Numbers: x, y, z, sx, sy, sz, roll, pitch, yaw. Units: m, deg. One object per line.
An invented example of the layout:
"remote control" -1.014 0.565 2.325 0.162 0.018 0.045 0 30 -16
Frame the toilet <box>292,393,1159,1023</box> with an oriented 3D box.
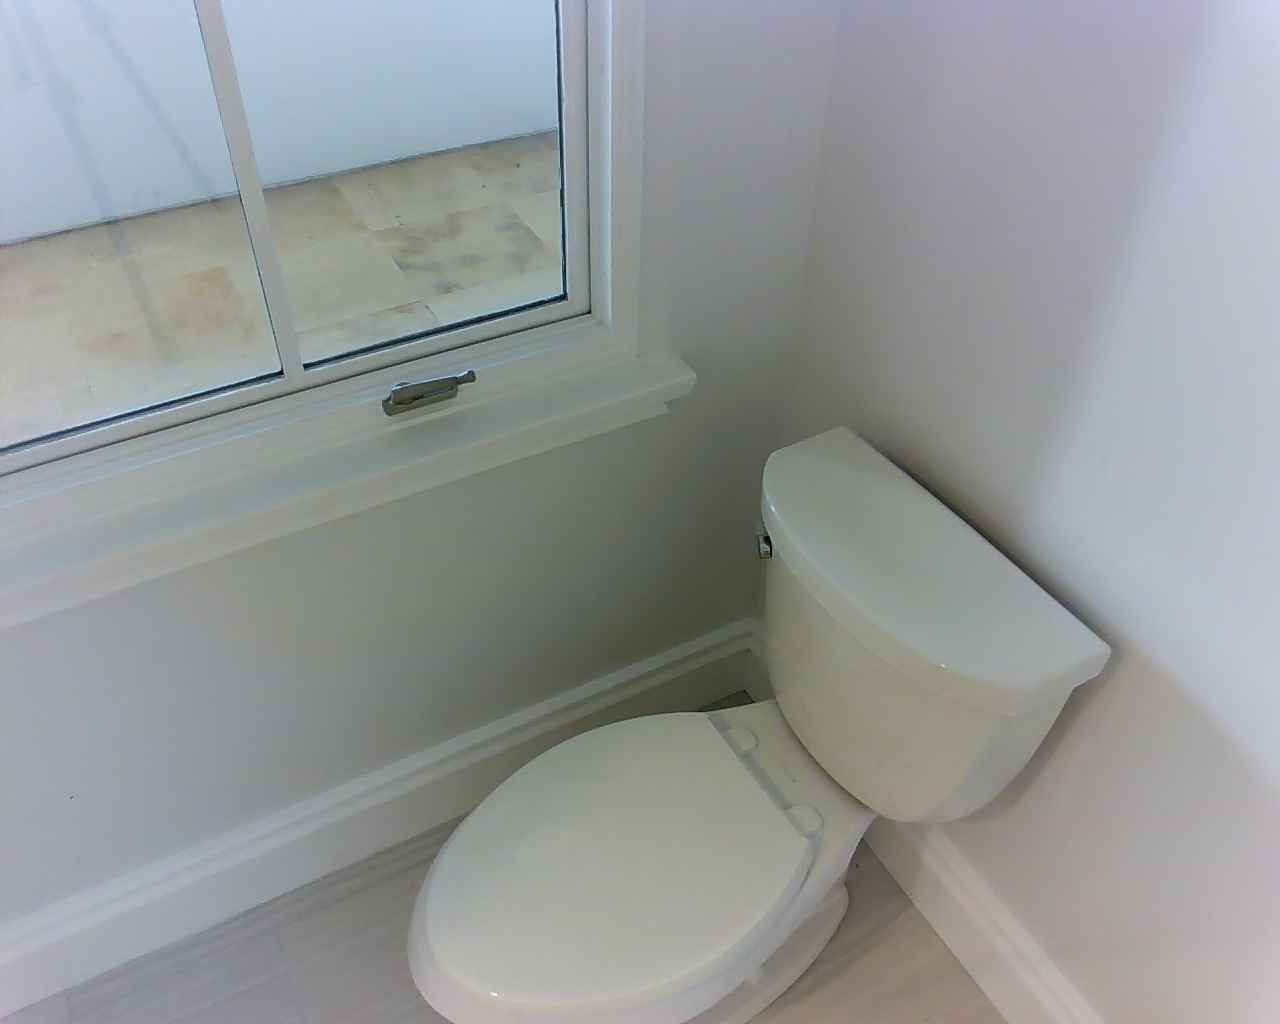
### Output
"toilet" 0.080 0.420 1.410 0.770 0.840 0.480 -21 47 -23
